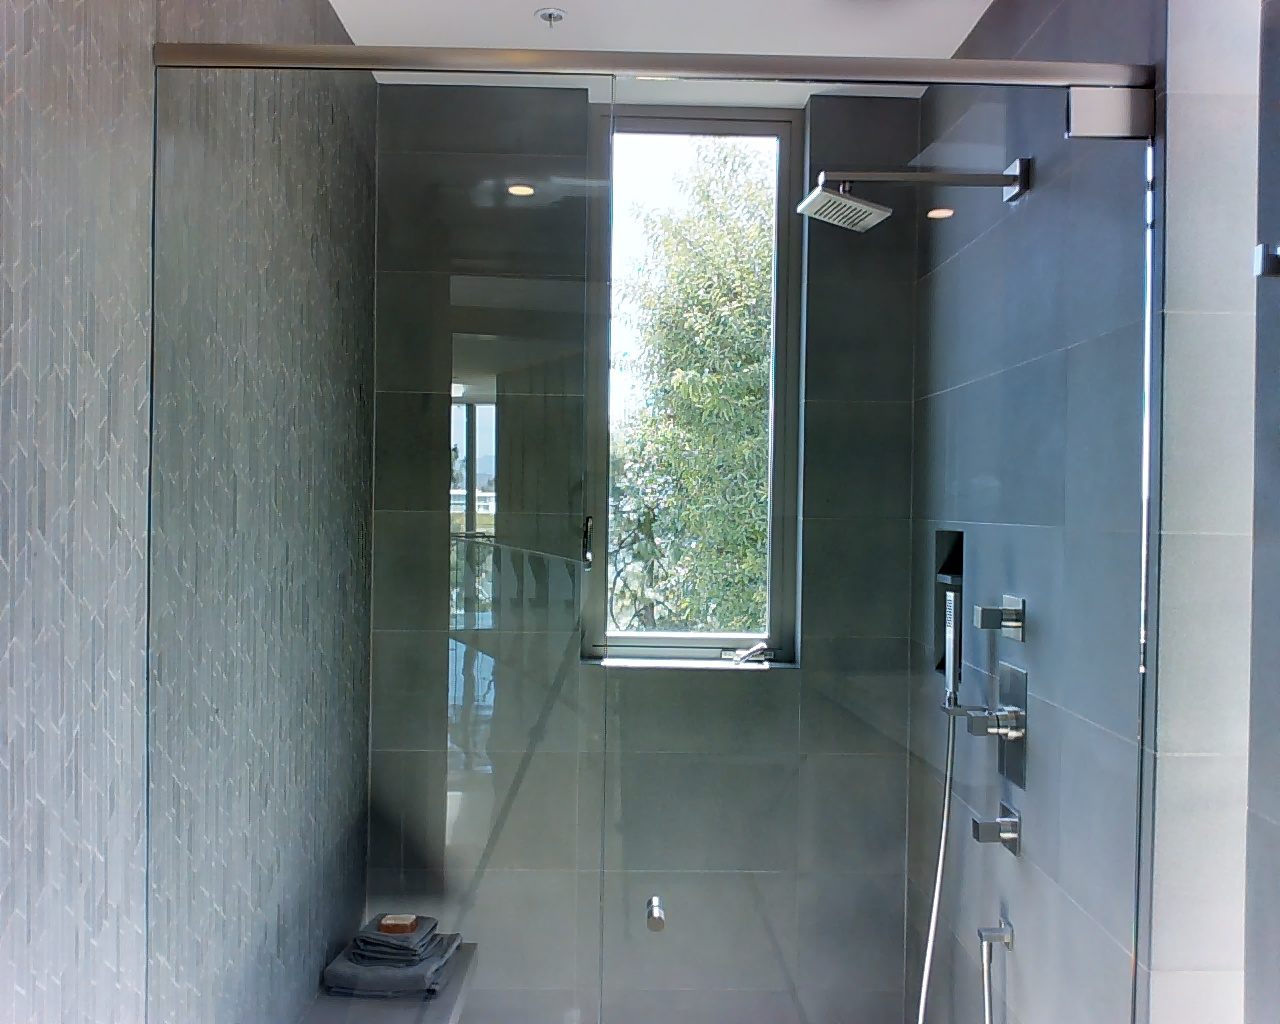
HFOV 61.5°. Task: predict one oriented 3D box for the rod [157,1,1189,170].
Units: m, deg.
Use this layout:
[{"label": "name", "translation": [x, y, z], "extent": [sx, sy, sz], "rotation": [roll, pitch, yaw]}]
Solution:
[{"label": "rod", "translation": [0.050, -0.610, 1.560], "extent": [1.410, 0.150, 0.180], "rotation": [0, 0, -1]}]
